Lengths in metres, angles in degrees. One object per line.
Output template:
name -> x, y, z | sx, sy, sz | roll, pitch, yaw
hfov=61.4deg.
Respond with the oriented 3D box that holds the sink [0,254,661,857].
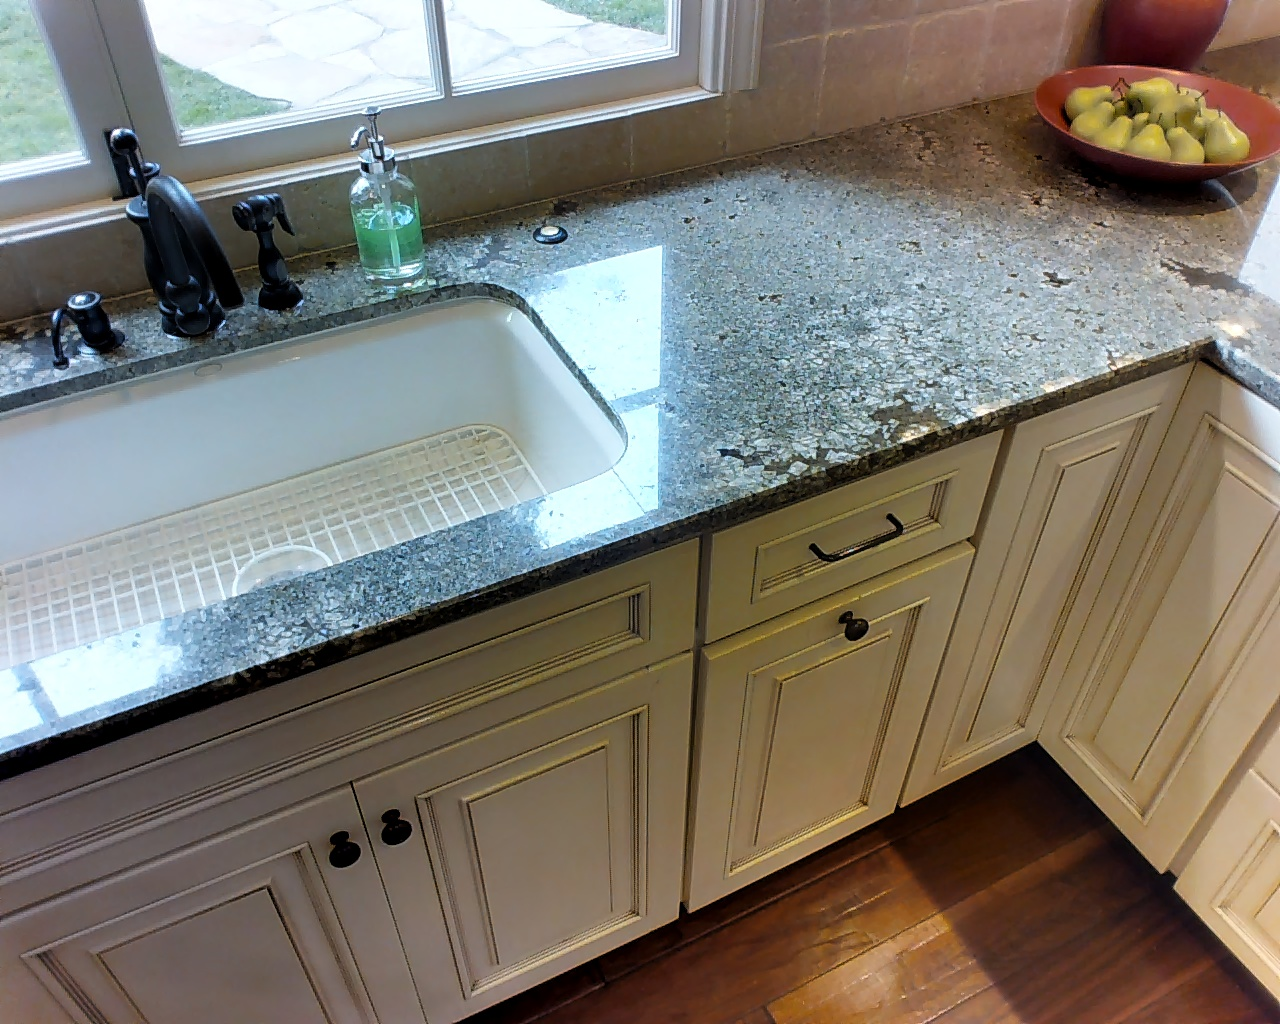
sink -> -0.400, 0.010, 1.160 | 0.740, 0.260, 0.400 | -18, 46, -19
